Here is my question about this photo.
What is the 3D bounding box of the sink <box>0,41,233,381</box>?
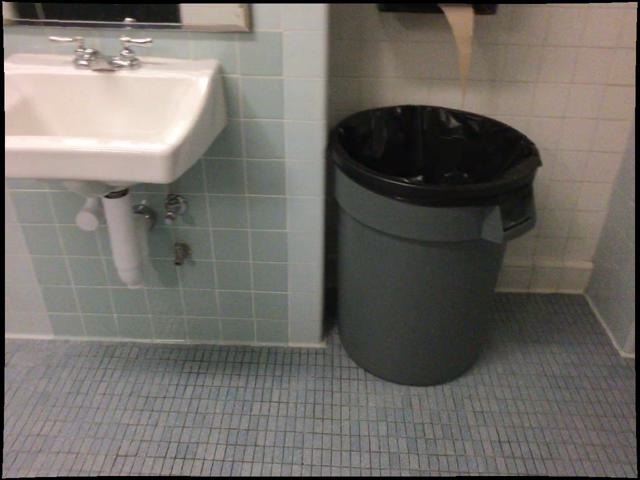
[{"bbox_3d":[-0.519,-0.070,1.360,0.539,0.641,0.460,2,34,-1],"label":"sink"}]
